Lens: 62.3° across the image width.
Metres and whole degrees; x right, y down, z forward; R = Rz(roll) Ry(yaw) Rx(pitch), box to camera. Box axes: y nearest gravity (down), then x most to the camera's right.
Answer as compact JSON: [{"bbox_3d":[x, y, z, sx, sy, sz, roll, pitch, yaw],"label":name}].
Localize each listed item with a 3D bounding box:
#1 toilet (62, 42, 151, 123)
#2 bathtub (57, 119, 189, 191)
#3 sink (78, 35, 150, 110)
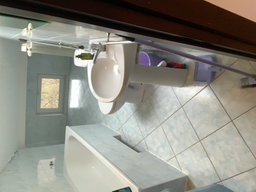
[{"bbox_3d":[-0.230,-0.150,2.280,0.440,0.770,0.730,17,104,53],"label":"toilet"},{"bbox_3d":[-0.270,0.850,2.540,1.950,0.540,0.670,15,102,54],"label":"bathtub"},{"bbox_3d":[-0.140,-0.190,1.580,0.590,0.220,0.450,17,104,53],"label":"sink"}]
